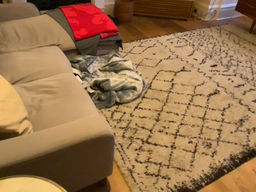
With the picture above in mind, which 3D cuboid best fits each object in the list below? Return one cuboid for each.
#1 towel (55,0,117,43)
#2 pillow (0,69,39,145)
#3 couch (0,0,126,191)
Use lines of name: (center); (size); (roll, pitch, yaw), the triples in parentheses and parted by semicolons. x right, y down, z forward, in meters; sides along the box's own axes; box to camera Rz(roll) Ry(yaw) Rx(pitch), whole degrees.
towel: (-0.490, -0.860, 2.350); (0.430, 0.150, 0.780); (-16, 44, -23)
pillow: (-0.640, 0.000, 1.080); (0.100, 0.240, 0.490); (-35, 49, -17)
couch: (-1.000, -0.230, 1.590); (1.070, 0.730, 2.140); (-16, 44, -23)
